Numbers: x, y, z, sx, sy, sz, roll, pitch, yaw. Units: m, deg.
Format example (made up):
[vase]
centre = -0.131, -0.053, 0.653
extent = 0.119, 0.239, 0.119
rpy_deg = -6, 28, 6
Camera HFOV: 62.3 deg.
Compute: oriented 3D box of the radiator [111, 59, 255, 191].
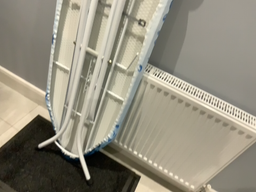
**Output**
[radiator]
centre = 0.230, 0.250, 1.120
extent = 0.550, 0.750, 0.090
rpy_deg = 31, 45, 11
